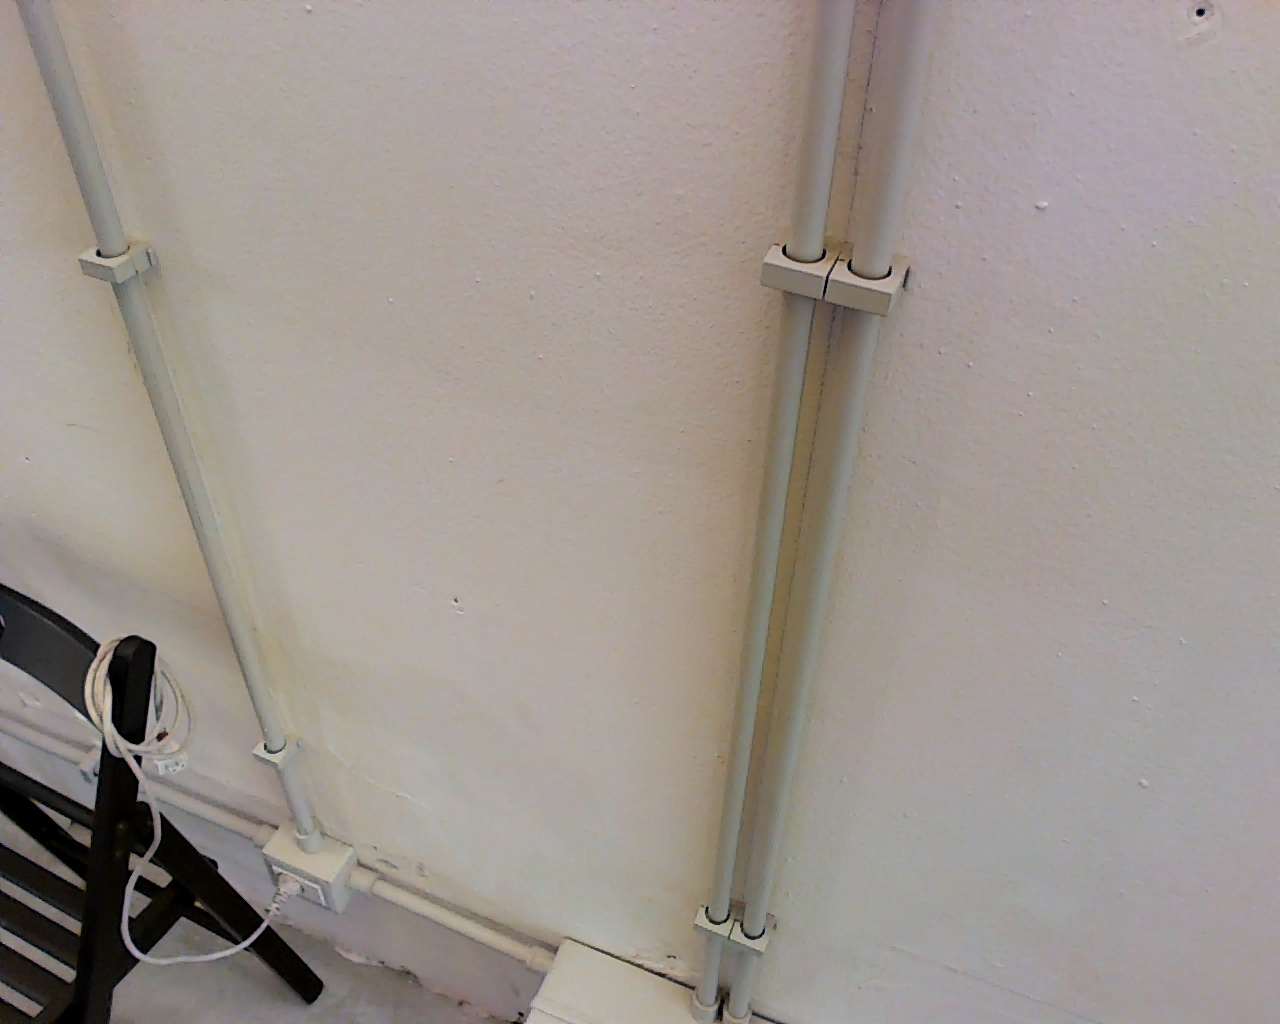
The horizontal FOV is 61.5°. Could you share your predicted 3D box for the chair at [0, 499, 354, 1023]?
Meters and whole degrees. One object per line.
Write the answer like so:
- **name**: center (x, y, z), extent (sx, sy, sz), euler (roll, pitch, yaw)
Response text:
- **chair**: center (-0.730, 0.430, 1.150), extent (0.500, 0.740, 0.520), euler (18, 45, 18)
